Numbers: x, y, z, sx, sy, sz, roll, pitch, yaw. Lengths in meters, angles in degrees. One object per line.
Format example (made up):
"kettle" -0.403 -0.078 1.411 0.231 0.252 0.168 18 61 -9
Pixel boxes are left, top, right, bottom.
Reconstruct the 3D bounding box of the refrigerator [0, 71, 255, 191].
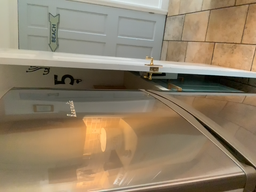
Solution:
"refrigerator" 0.410 0.360 0.870 0.640 1.670 0.730 -140 54 -66
